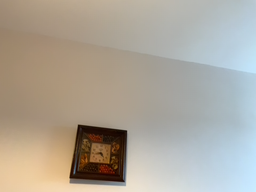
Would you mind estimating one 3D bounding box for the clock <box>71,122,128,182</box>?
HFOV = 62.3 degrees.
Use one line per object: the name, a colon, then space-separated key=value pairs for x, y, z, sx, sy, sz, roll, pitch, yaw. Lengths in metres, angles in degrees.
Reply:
clock: x=-0.150 y=0.310 z=1.190 sx=0.280 sy=0.300 sz=0.050 roll=8 pitch=-29 yaw=-10
